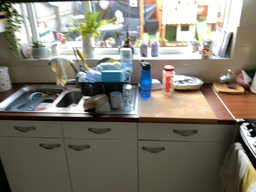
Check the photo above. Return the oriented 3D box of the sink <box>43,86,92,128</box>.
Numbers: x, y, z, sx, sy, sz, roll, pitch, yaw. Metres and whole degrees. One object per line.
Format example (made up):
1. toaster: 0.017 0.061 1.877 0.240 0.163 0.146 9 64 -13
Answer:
1. sink: -0.440 0.070 1.620 0.230 0.150 0.390 1 25 4

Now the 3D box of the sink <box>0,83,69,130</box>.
1. sink: -0.730 0.060 1.660 0.360 0.150 0.500 1 25 4
